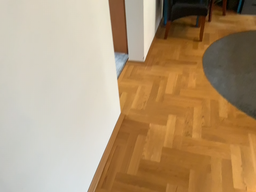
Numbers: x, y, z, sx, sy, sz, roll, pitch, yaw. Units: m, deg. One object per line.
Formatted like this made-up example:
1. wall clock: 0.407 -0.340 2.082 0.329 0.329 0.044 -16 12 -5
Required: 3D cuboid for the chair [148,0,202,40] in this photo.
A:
1. chair: 0.640 -1.380 2.760 0.630 1.080 0.560 9 44 12
